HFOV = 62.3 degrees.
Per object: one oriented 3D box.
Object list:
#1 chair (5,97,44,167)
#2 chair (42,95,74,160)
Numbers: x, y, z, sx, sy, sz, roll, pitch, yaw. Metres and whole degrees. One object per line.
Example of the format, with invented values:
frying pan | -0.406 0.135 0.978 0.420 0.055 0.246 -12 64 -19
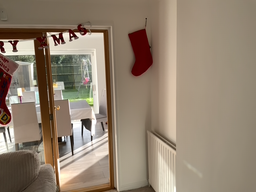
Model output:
chair | -1.770 0.600 3.700 0.470 1.070 0.460 -4 10 -19
chair | -1.290 0.550 3.930 0.460 1.070 0.460 -4 10 -17
